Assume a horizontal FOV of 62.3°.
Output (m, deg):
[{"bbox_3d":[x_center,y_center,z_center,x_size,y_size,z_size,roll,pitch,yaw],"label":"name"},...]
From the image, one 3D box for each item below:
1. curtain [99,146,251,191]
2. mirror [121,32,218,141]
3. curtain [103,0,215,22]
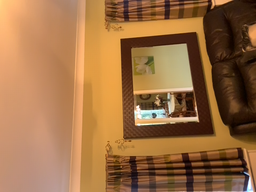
[{"bbox_3d":[0.400,0.680,1.990,0.110,1.340,0.340,79,-172,-69],"label":"curtain"},{"bbox_3d":[0.410,-0.140,2.390,0.070,0.940,1.230,78,-171,-71],"label":"mirror"},{"bbox_3d":[0.360,-1.140,2.630,0.150,1.330,0.280,78,-171,-71],"label":"curtain"}]
